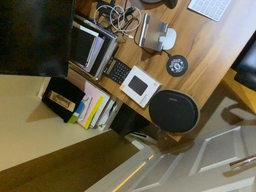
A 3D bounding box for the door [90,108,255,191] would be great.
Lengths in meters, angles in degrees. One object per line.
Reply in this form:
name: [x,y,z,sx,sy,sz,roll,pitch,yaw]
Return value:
door: [0.100,0.310,0.640,0.880,2.020,0.050,-26,82,24]
